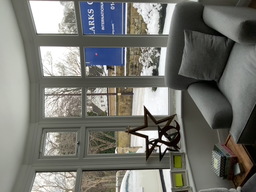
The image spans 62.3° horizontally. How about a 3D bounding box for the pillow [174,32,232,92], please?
[{"bbox_3d":[0.680,-0.330,1.980,0.150,0.460,0.490,-33,-54,-40],"label":"pillow"}]
